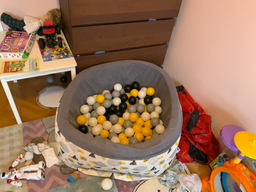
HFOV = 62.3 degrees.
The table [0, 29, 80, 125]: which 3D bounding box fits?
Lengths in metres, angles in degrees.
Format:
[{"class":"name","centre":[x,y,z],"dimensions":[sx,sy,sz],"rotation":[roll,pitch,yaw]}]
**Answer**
[{"class":"table","centre":[-0.720,-0.180,1.760],"dimensions":[0.500,0.490,0.560],"rotation":[-11,47,-20]}]

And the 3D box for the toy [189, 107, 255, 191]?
[{"class":"toy","centre":[0.690,0.480,1.200],"dimensions":[0.240,0.580,0.560],"rotation":[-11,47,-20]}]

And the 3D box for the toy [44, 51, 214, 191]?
[{"class":"toy","centre":[-0.060,0.130,1.520],"dimensions":[0.840,0.400,0.850],"rotation":[-13,48,-22]}]
